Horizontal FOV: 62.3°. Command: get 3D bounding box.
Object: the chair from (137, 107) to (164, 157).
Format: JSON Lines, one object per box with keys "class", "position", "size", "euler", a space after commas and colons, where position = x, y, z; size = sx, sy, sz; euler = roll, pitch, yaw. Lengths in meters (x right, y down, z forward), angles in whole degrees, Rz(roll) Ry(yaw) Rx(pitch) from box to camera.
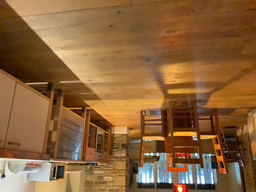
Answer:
{"class": "chair", "position": [0.410, 0.670, 3.850], "size": [0.440, 0.820, 0.460], "euler": [-3, 162, 10]}
